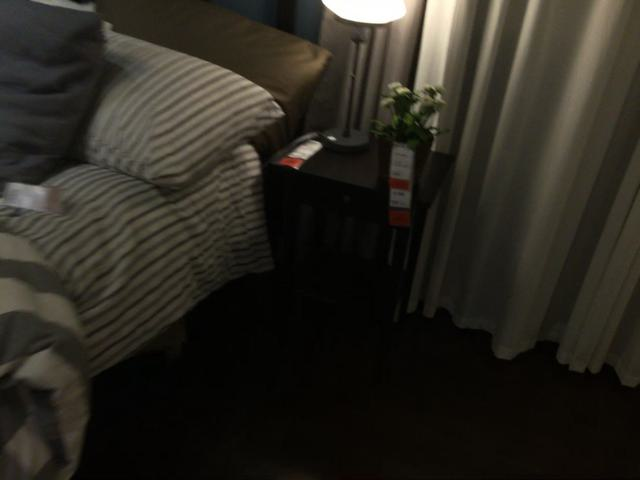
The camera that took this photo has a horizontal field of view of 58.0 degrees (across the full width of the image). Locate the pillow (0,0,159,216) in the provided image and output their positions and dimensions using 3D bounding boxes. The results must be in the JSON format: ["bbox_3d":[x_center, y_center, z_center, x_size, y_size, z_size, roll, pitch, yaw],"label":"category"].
[{"bbox_3d":[-0.830,-0.400,1.460,0.600,0.370,0.560,11,31,11],"label":"pillow"}]

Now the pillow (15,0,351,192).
[{"bbox_3d":[-0.430,-0.570,1.900,0.970,0.570,0.350,11,31,11],"label":"pillow"}]

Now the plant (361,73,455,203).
[{"bbox_3d":[0.230,-0.270,1.500,0.180,0.250,0.220,11,31,11],"label":"plant"}]

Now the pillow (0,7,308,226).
[{"bbox_3d":[-0.530,-0.400,1.630,0.830,0.320,0.640,11,31,11],"label":"pillow"}]
